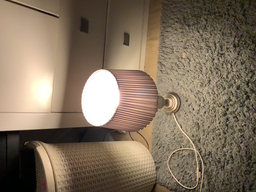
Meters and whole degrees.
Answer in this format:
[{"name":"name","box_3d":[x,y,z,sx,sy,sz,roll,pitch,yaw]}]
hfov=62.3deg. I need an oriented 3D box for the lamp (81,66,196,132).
[{"name":"lamp","box_3d":[0.070,0.020,0.960,0.260,0.470,0.220,2,88,45]}]
